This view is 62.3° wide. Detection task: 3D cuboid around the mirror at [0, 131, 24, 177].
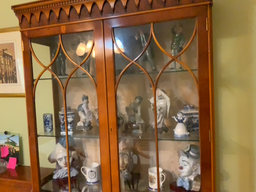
[{"bbox_3d":[-0.920,0.410,1.530,0.270,0.280,0.130,-2,5,17],"label":"mirror"}]
